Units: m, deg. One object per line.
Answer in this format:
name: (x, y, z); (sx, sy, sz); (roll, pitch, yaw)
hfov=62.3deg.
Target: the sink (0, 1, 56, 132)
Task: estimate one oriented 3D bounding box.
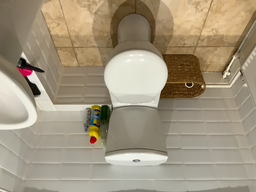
sink: (-0.480, -0.050, 0.680); (0.350, 0.160, 0.460); (0, 148, -2)
